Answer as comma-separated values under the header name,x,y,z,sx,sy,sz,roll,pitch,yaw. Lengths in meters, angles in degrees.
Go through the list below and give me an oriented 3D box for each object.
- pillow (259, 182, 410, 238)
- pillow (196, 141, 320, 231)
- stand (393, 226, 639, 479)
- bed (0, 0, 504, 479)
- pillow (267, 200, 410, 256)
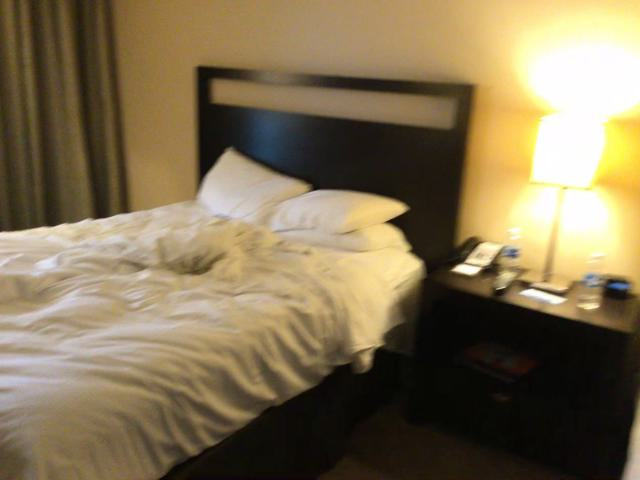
name,x,y,z,sx,sy,sz,roll,pitch,yaw
pillow,0.070,-0.160,2.760,0.570,0.120,0.430,13,17,32
pillow,-0.350,-0.310,3.090,0.300,0.360,0.660,-9,20,-43
stand,0.830,0.440,2.380,0.800,0.790,0.570,13,17,32
bed,-0.620,-0.030,2.280,1.830,1.590,2.140,13,17,32
pillow,0.090,-0.070,2.790,0.570,0.110,0.380,13,17,32
